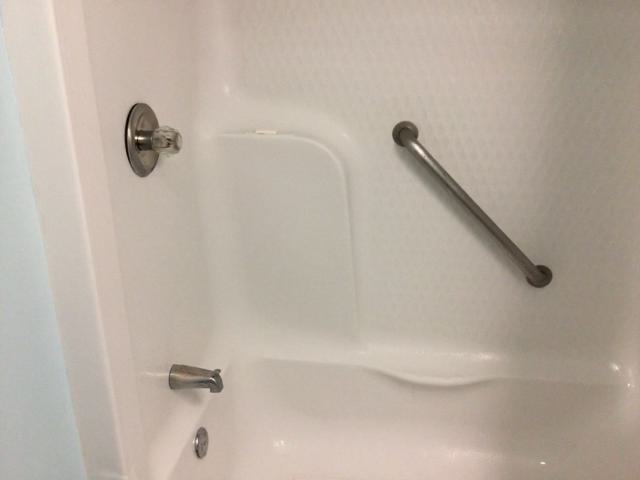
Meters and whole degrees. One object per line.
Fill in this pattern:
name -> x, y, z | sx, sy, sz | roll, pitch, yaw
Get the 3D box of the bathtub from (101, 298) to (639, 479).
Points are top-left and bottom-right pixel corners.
bathtub -> 0.290, 0.630, 1.560 | 1.370, 0.550, 0.810 | 3, 21, 8
